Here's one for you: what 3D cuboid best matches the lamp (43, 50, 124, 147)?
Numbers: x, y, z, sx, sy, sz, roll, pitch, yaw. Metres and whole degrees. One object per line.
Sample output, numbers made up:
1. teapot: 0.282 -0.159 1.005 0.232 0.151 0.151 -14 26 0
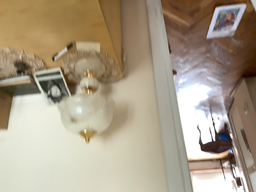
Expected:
1. lamp: -0.150 0.020 0.840 0.230 0.290 0.230 -6 152 5
